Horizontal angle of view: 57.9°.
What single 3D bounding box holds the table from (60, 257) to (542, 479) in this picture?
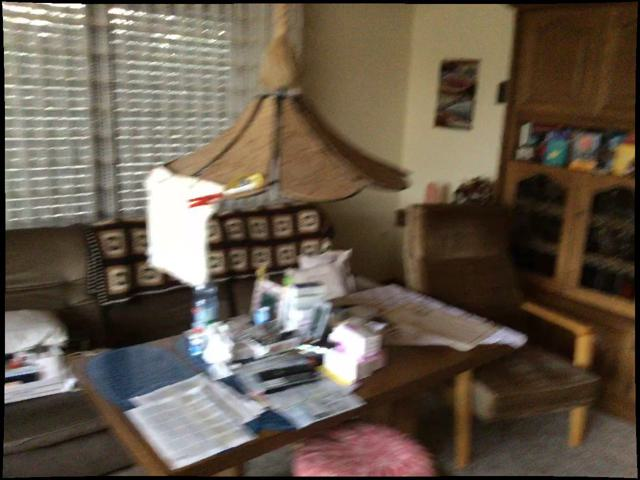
[{"bbox_3d":[0.010,0.641,2.170,1.589,0.721,0.800,-11,22,-41],"label":"table"}]
